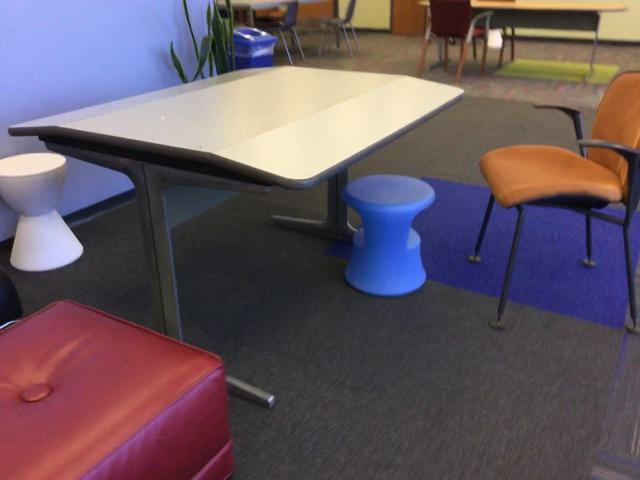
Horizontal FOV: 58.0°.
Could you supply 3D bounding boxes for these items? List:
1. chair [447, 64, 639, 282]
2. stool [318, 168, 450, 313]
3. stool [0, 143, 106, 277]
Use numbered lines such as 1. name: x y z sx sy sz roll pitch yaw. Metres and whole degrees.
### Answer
1. chair: 0.810 -0.260 1.980 0.610 0.610 0.570 1 21 3
2. stool: 0.250 -0.020 2.270 0.370 0.410 0.380 13 25 30
3. stool: -1.160 -0.140 2.430 0.300 0.450 0.320 13 25 30
